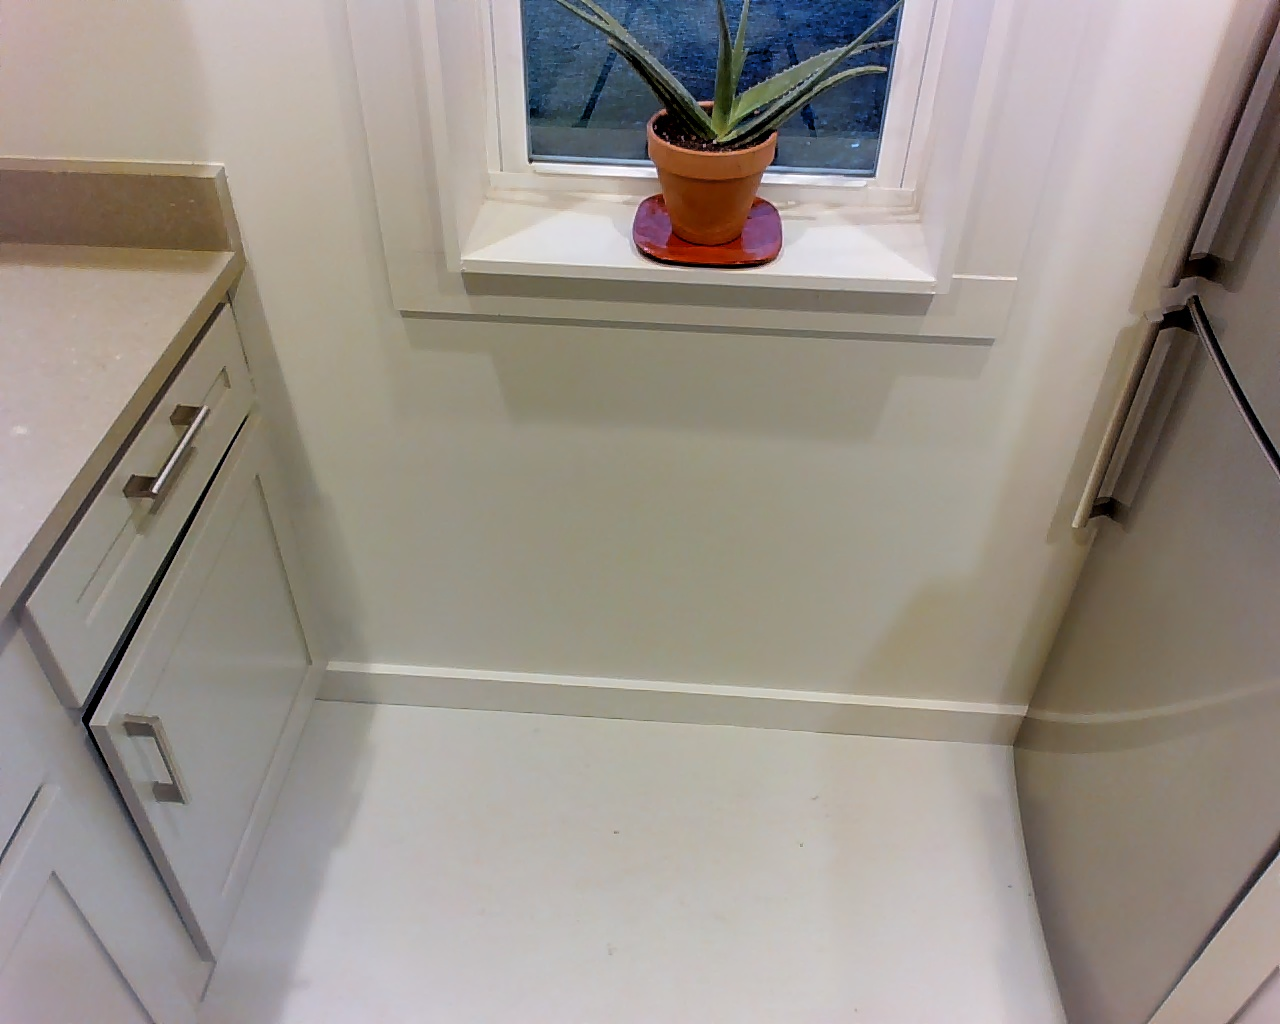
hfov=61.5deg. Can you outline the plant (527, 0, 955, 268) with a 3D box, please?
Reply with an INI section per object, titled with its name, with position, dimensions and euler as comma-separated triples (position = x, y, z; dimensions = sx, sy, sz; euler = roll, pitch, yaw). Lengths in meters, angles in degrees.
[plant]
position = 0.110, -0.490, 1.290
dimensions = 0.440, 0.290, 0.230
euler = 3, 42, 3
